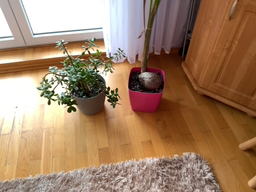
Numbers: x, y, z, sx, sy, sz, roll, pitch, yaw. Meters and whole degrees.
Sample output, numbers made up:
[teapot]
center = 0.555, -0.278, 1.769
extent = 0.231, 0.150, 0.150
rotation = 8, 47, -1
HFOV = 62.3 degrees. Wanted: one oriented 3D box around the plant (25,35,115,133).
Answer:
[plant]
center = -0.340, -0.100, 1.470
extent = 0.390, 0.360, 0.540
rotation = 7, 49, 5
